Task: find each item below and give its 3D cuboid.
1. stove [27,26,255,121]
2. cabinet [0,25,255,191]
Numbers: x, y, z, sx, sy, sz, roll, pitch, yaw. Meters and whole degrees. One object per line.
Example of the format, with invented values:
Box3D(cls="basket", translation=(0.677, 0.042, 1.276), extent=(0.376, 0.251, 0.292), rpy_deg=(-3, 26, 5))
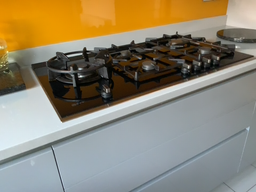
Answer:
Box3D(cls="stove", translation=(0.060, -0.200, 1.010), extent=(0.910, 0.060, 0.600), rpy_deg=(-18, 32, -26))
Box3D(cls="cabinet", translation=(0.060, 0.250, 1.210), extent=(2.020, 0.920, 0.640), rpy_deg=(-18, 32, -26))
